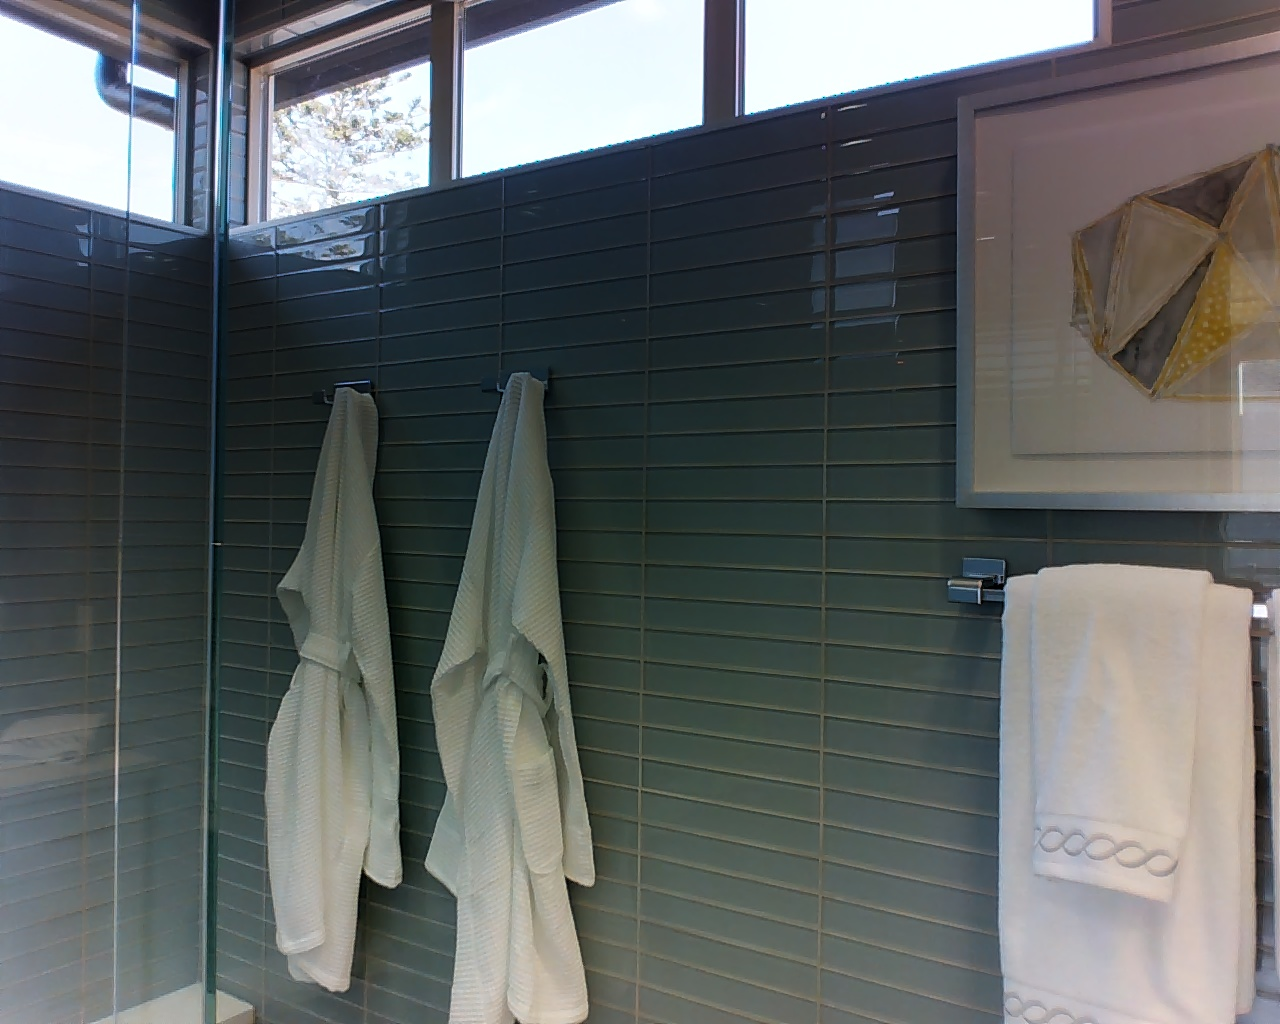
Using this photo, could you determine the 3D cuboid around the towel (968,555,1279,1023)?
[{"bbox_3d":[0.550,0.370,1.190,0.300,0.630,0.230,0,0,34],"label":"towel"}]
